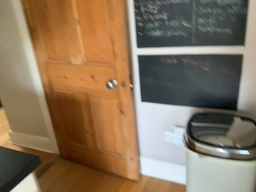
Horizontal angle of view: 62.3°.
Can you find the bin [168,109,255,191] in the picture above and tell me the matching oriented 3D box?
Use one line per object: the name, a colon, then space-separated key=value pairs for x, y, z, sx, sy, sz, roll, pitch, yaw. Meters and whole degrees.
bin: x=0.510 y=0.470 z=1.270 sx=0.450 sy=0.650 sz=0.340 roll=6 pitch=26 yaw=25
